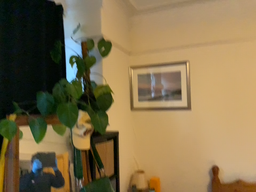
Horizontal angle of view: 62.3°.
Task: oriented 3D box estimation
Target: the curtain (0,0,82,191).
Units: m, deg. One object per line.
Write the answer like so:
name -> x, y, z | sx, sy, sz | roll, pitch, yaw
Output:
curtain -> -0.790, 0.120, 1.690 | 0.230, 2.050, 1.210 | -2, -2, 18

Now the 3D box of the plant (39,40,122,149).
plant -> -0.350, 0.000, 1.740 | 0.390, 0.720, 0.600 | -2, -2, 22
